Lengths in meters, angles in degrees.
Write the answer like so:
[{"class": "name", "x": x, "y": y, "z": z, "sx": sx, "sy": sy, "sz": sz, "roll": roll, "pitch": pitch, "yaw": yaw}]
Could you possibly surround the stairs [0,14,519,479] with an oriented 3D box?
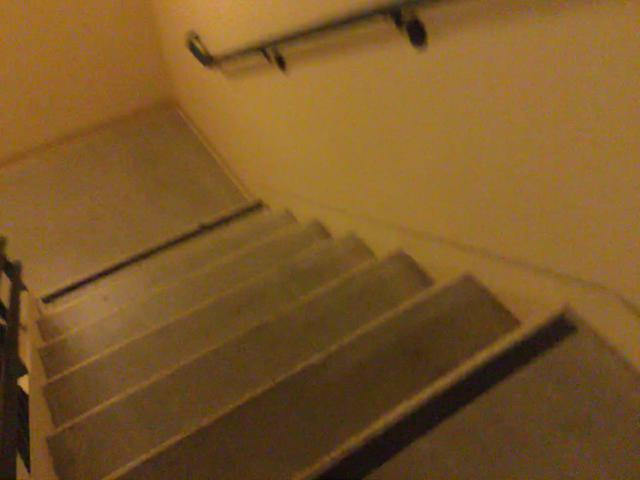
[{"class": "stairs", "x": -0.440, "y": 0.230, "z": 2.110, "sx": 1.160, "sy": 1.090, "sz": 1.650, "roll": -26, "pitch": 57, "yaw": -20}]
